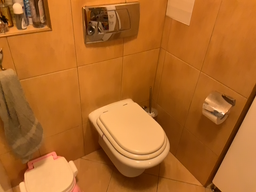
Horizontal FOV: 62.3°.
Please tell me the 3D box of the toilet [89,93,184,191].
[{"bbox_3d":[0.020,0.360,1.450,0.360,0.480,0.510,-19,43,-28],"label":"toilet"}]
